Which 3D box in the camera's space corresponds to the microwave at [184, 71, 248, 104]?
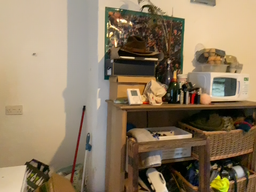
[{"bbox_3d":[0.780,-0.080,1.890,0.490,0.260,0.230,-1,6,-21],"label":"microwave"}]
